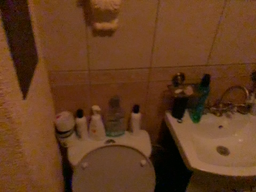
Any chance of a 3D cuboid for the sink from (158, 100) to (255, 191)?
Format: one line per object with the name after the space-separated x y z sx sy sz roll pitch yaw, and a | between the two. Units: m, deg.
0.440 0.210 0.970 0.500 0.150 0.380 -4 37 -10 | sink
